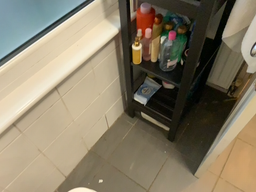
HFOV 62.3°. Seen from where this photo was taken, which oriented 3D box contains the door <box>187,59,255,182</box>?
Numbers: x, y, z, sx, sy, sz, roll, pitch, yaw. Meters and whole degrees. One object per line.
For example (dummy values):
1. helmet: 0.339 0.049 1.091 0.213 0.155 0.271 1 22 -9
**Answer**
1. door: 0.550 -0.320 0.580 0.050 2.060 0.690 30 61 21
